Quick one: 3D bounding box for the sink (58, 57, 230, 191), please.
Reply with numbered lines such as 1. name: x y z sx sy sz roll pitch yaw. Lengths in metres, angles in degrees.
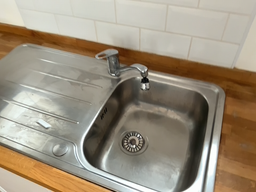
1. sink: 0.100 0.130 0.760 0.420 0.190 0.520 15 49 15
